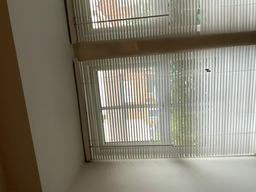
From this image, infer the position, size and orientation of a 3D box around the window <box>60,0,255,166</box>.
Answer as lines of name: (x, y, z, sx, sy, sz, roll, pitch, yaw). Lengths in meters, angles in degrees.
window: (0.310, -0.370, 1.660, 0.080, 1.600, 1.960, -68, -25, -76)
